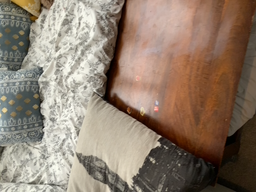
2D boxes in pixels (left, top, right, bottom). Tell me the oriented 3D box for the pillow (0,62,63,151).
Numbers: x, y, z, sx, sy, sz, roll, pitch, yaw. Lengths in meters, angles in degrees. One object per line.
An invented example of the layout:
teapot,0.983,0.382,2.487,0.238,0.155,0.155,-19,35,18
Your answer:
pillow,-0.660,0.070,1.220,0.130,0.470,0.310,-3,54,40

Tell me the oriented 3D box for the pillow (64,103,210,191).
pillow,-0.030,0.380,0.800,0.460,0.160,0.590,22,102,39
